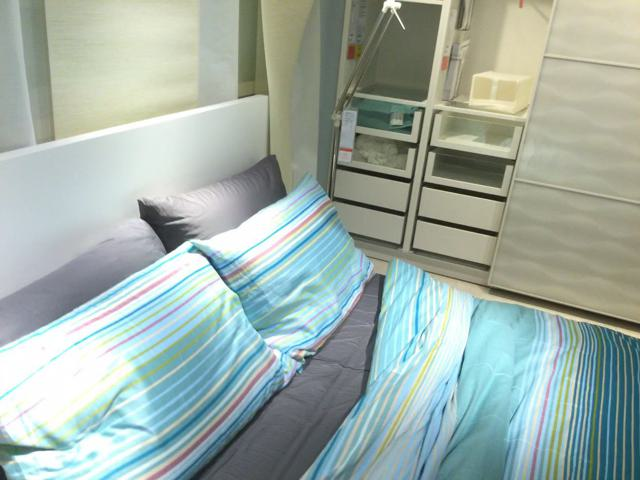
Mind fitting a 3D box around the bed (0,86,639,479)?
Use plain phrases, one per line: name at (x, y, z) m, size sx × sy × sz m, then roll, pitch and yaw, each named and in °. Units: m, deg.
bed at (0.310, 0.380, 1.270) m, size 2.210 × 1.050 × 1.720 m, roll 12°, pitch 24°, yaw 23°
